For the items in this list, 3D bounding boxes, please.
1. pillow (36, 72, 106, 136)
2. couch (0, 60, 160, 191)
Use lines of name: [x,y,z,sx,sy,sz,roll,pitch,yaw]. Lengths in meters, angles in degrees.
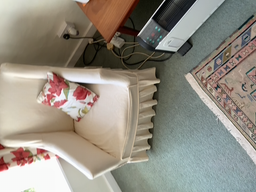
pillow: [-0.430,0.050,1.570,0.370,0.290,0.270,-50,64,32]
couch: [-0.350,0.120,1.550,0.770,0.830,0.660,14,103,38]
